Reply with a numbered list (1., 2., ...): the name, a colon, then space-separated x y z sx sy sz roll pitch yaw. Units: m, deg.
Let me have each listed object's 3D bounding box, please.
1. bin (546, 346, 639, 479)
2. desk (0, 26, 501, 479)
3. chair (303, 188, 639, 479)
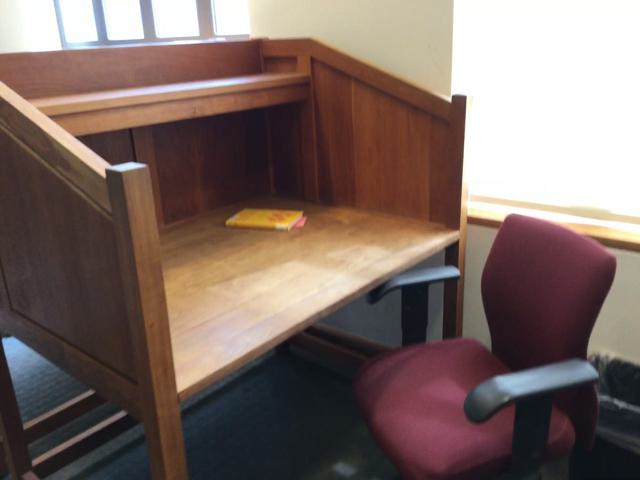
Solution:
1. bin: 0.920 0.590 1.720 0.370 0.380 0.250 14 25 37
2. desk: -0.240 0.090 1.800 1.010 1.380 1.300 14 25 37
3. chair: 0.390 0.430 1.470 0.650 0.920 0.690 -8 21 -18
